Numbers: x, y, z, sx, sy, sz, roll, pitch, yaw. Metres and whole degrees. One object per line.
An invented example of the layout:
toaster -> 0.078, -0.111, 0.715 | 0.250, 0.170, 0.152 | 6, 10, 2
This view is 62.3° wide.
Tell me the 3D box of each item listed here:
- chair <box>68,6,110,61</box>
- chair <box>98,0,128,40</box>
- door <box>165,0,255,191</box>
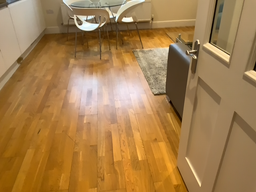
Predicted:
chair -> -0.640, -1.080, 3.630 | 0.600, 0.780, 0.550 | -4, 31, -7
chair -> -0.320, -1.710, 4.670 | 0.600, 0.780, 0.520 | -4, 31, -5
door -> 0.370, -0.080, 0.800 | 0.060, 2.070, 0.850 | -4, 31, -6
